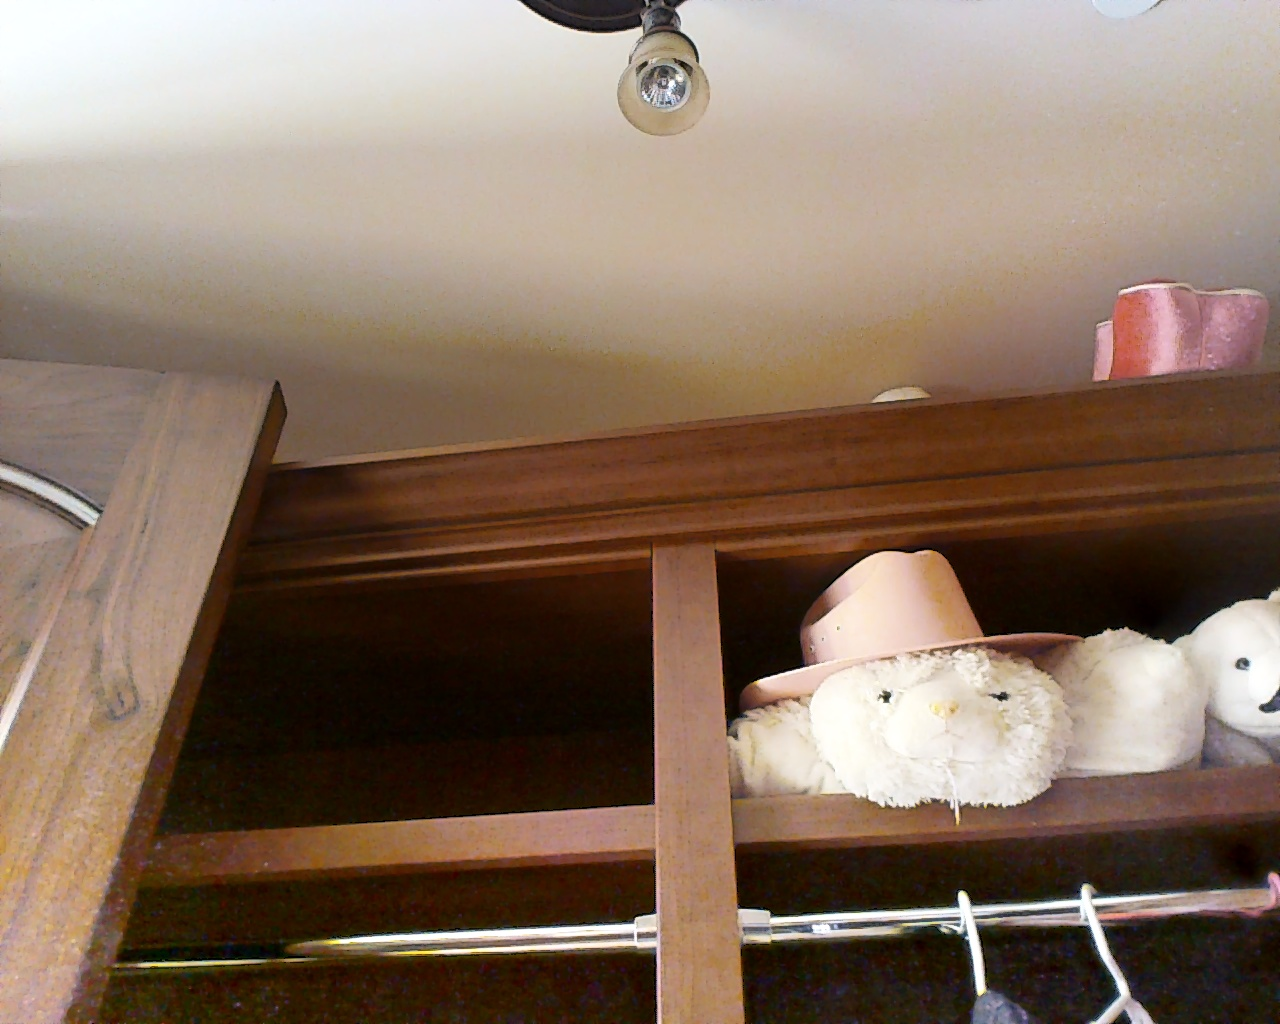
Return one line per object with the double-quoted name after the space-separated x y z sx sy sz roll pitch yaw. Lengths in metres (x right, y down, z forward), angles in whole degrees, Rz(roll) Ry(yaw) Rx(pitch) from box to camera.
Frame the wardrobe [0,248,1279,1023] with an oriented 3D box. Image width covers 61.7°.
0.270 0.840 0.450 1.780 2.410 0.490 -5 -42 6 "wardrobe"
